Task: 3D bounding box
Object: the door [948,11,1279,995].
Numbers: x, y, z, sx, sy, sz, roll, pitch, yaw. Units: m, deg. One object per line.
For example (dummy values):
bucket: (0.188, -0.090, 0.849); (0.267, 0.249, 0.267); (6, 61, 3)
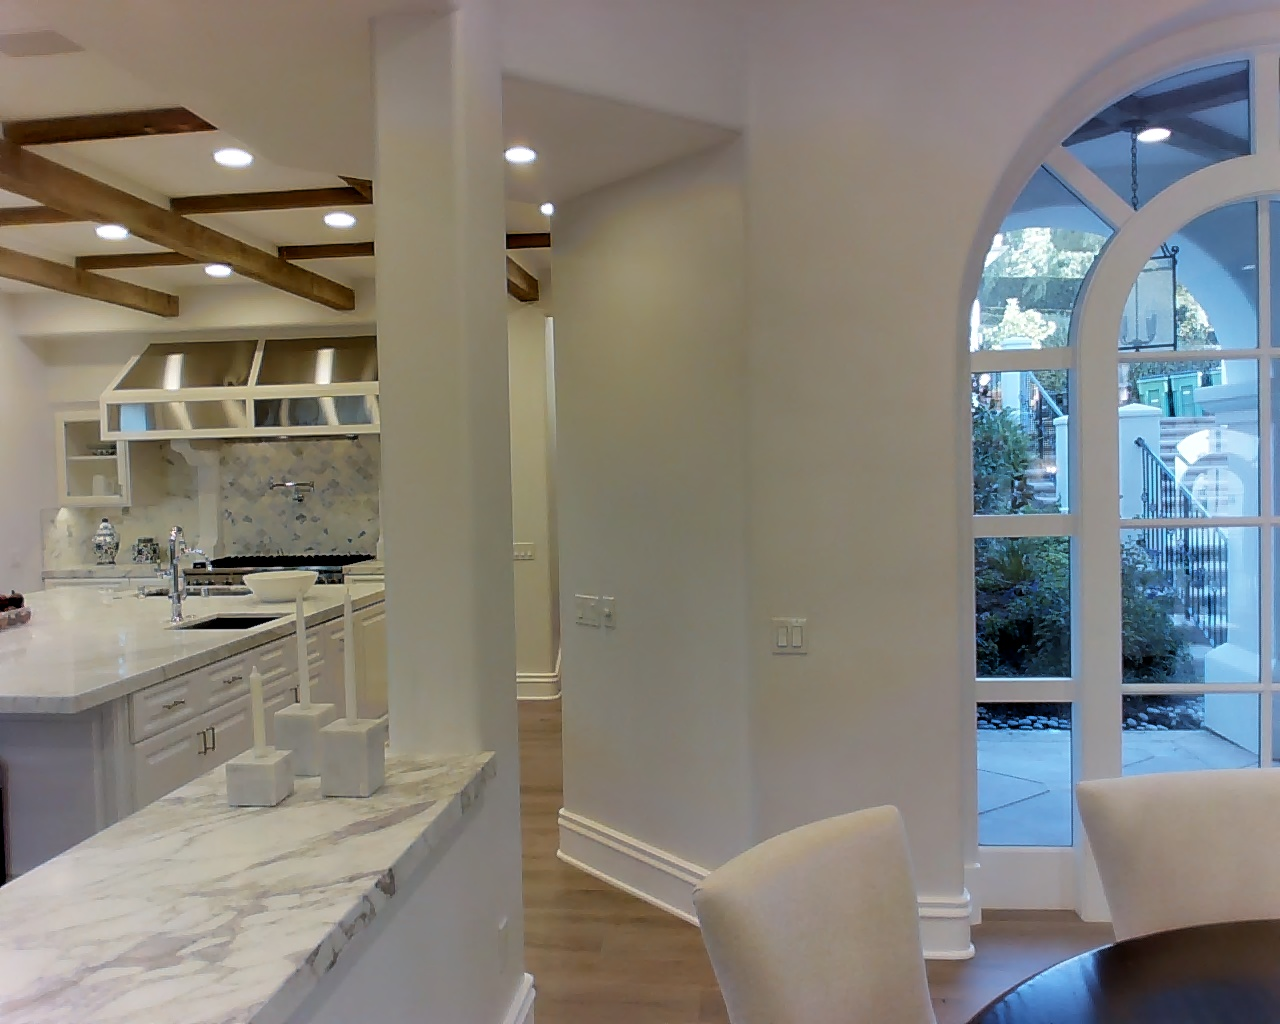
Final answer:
door: (2.159, -0.020, 3.500); (2.109, 2.991, 0.530); (-1, 2, 7)
